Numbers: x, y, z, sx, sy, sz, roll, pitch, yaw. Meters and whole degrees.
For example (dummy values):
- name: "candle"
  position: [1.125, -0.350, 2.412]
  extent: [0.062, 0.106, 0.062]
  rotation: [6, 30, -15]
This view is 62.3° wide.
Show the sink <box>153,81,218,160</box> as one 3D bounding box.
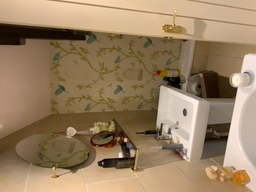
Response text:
- name: "sink"
  position: [0.410, 0.150, 1.650]
  extent: [0.510, 0.180, 0.450]
  rotation: [-143, 54, -66]
